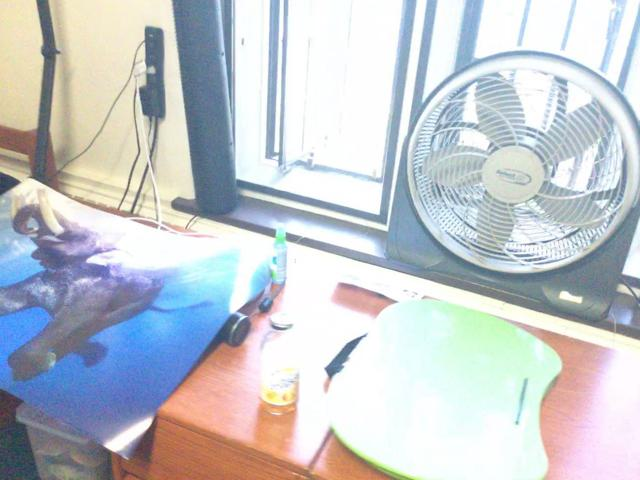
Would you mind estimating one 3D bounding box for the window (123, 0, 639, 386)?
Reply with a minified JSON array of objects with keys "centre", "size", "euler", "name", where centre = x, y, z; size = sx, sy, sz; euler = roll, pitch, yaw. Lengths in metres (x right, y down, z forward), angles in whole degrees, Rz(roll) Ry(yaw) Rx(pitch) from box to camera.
[{"centre":[0.480,-0.540,1.370],"size":[1.920,1.480,0.540],"euler":[14,27,20],"name":"window"}]
